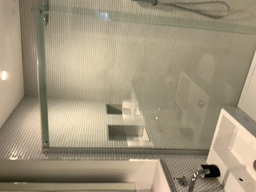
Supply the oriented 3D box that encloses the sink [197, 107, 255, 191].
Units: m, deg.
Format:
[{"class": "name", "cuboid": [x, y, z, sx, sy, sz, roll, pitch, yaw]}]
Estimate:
[{"class": "sink", "cuboid": [0.640, 0.390, 1.190, 0.620, 0.150, 0.420, -108, 22, -65]}]
